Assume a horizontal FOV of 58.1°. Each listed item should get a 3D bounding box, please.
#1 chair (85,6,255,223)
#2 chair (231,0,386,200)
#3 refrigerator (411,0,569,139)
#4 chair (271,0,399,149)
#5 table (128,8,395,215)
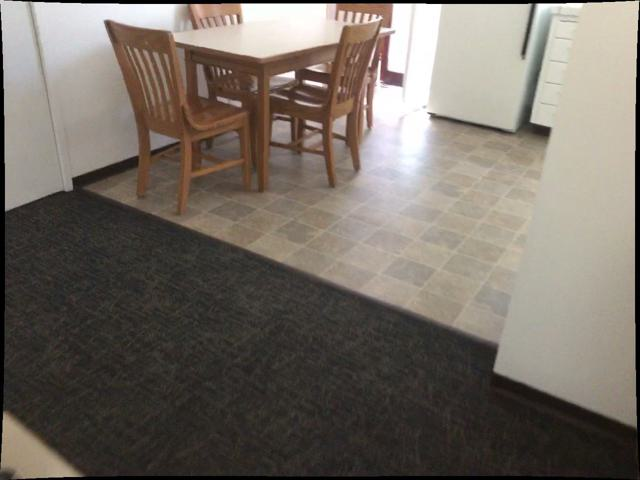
[{"bbox_3d":[-0.699,-0.641,2.860,0.519,0.871,0.540,17,32,24],"label":"chair"},{"bbox_3d":[-0.070,-0.801,3.220,0.639,0.901,0.510,17,32,24],"label":"chair"},{"bbox_3d":[1.318,-1.703,4.290,0.869,1.592,0.750,17,32,24],"label":"refrigerator"},{"bbox_3d":[0.090,-1.192,3.960,0.639,0.881,0.580,17,32,24],"label":"chair"},{"bbox_3d":[-0.270,-0.861,3.450,0.919,0.771,1.340,17,32,24],"label":"table"}]
